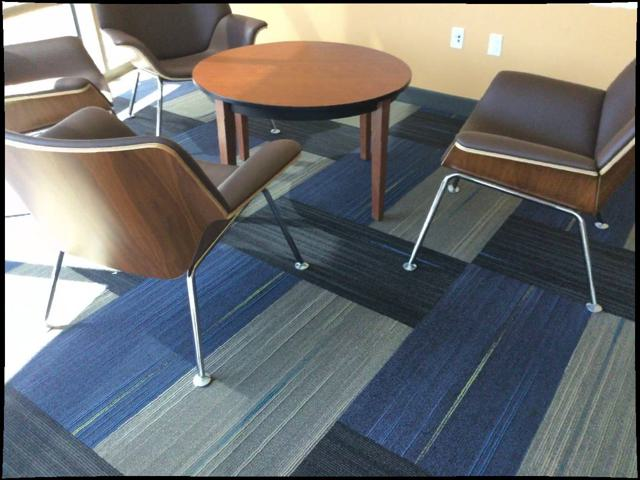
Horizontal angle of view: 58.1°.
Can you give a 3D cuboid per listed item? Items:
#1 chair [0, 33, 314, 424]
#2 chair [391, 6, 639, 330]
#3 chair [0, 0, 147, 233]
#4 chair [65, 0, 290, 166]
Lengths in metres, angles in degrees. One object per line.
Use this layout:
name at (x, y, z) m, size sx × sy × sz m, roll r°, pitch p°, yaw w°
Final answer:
chair at (-0.569, -0.110, 1.780) m, size 0.858 × 0.751 × 0.770 m, roll 14°, pitch 37°, yaw 19°
chair at (0.808, -0.341, 2.120) m, size 0.788 × 0.751 × 0.890 m, roll 14°, pitch 37°, yaw 22°
chair at (-1.317, -0.602, 2.560) m, size 0.858 × 0.761 × 0.840 m, roll -11°, pitch 36°, yaw -16°
chair at (-0.778, -1.013, 3.200) m, size 0.899 × 0.731 × 0.840 m, roll -20°, pitch 39°, yaw -27°
